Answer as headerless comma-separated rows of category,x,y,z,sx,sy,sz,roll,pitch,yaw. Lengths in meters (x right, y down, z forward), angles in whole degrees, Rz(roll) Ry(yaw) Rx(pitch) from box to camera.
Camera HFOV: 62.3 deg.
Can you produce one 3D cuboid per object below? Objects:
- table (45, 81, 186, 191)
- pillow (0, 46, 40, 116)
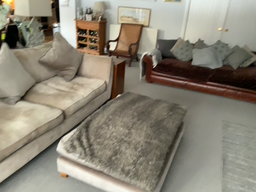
table,0.000,0.350,2.060,0.880,0.500,1.230,13,25,17
pillow,-1.200,-0.170,2.160,0.140,0.520,0.530,-18,28,12
